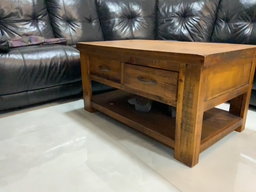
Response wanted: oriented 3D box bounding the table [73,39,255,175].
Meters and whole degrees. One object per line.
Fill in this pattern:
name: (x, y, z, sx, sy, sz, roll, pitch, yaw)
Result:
table: (0.180, -0.080, 1.380, 0.610, 0.510, 1.000, -15, 23, -39)
